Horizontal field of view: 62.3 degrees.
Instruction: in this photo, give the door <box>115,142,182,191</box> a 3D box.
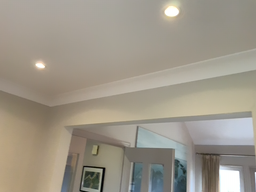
[{"bbox_3d":[0.200,1.670,2.720,0.940,2.100,0.200,-10,-25,38],"label":"door"}]
